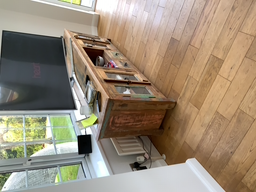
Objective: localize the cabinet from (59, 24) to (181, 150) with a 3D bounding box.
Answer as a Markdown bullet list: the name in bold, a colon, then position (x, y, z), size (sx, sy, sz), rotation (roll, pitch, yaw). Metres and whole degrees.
- **cabinet**: position (-0.280, -0.250, 2.440), size (1.800, 0.660, 0.570), rotation (51, 131, 50)

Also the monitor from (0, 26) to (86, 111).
- **monitor**: position (-0.870, -0.300, 2.110), size (0.080, 0.700, 1.070), rotation (-60, 39, 40)
